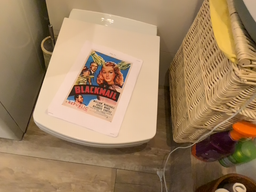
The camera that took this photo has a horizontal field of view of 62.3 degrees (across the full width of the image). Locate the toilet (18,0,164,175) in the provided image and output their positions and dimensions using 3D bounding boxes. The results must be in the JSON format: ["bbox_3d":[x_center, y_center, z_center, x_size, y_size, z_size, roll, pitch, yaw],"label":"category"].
[{"bbox_3d":[-0.110,0.000,0.890,0.380,0.450,0.520,11,60,-6],"label":"toilet"}]
